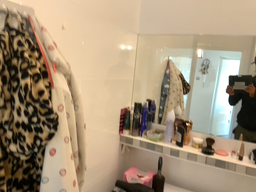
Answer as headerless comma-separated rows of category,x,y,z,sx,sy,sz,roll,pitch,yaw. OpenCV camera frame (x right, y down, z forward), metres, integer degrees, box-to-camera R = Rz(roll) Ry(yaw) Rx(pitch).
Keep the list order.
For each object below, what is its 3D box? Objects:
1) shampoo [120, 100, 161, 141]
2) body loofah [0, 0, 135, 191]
shampoo,0.090,0.160,1.480,0.200,0.220,0.200,10,9,27
body loofah,-0.270,0.510,0.730,0.270,1.560,0.470,9,9,23
